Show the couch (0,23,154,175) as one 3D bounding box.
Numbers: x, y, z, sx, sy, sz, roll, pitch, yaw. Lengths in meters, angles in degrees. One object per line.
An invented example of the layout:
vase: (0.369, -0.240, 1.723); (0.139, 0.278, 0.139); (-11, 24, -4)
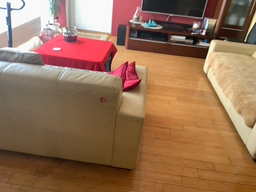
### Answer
couch: (-0.580, -0.060, 1.890); (1.490, 0.750, 0.960); (9, 31, 3)

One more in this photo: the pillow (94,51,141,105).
pillow: (-0.080, -0.180, 1.870); (0.350, 0.230, 0.510); (7, 31, -1)

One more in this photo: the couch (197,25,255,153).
couch: (1.600, -0.220, 2.620); (0.930, 0.750, 1.880); (8, 31, 1)
